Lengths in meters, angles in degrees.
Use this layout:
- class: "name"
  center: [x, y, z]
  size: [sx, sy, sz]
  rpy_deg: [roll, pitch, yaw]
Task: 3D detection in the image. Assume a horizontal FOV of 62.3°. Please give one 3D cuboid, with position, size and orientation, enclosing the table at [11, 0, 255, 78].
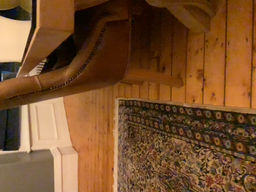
- class: "table"
  center: [-0.390, -0.700, 1.530]
  size: [2.280, 0.780, 1.040]
  rpy_deg: [6, 95, 61]
